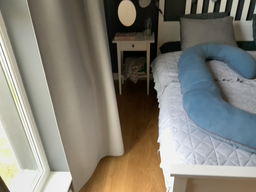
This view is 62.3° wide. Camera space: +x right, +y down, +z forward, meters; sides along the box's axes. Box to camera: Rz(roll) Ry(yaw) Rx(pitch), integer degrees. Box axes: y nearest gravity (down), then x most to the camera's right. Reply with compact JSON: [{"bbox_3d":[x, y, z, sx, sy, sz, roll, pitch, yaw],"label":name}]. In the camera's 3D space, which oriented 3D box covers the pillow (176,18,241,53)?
[{"bbox_3d":[0.810,-0.630,2.200,0.540,0.270,0.230,2,32,1],"label":"pillow"}]
